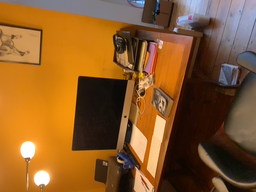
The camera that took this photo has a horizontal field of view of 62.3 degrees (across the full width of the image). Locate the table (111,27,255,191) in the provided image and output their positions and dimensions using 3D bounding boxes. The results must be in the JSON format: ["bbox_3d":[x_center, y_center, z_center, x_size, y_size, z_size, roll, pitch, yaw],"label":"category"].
[{"bbox_3d":[0.410,0.320,1.900,0.800,0.710,1.660,-138,53,-61],"label":"table"}]
